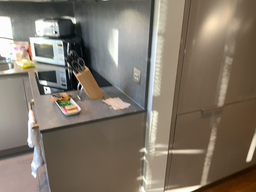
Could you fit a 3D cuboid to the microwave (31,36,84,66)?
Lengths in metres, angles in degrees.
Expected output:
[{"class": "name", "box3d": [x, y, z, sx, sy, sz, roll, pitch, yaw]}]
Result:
[{"class": "microwave", "box3d": [-0.750, -0.490, 2.270, 0.460, 0.230, 0.270, 12, 25, 24]}]
